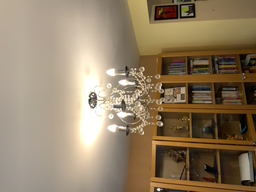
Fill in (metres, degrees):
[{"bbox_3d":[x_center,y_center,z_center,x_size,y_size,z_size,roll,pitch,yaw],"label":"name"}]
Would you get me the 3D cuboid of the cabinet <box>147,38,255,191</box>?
[{"bbox_3d":[1.250,0.510,2.200,0.290,2.000,2.590,67,-154,-60],"label":"cabinet"}]
